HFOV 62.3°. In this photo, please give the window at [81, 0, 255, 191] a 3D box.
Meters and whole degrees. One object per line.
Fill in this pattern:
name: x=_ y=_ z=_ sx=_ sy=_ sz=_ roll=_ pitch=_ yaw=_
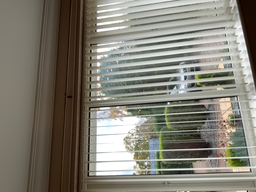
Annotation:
window: x=0.320 y=0.040 z=1.990 sx=0.080 sy=1.540 sz=2.680 roll=57 pitch=-151 yaw=-72
